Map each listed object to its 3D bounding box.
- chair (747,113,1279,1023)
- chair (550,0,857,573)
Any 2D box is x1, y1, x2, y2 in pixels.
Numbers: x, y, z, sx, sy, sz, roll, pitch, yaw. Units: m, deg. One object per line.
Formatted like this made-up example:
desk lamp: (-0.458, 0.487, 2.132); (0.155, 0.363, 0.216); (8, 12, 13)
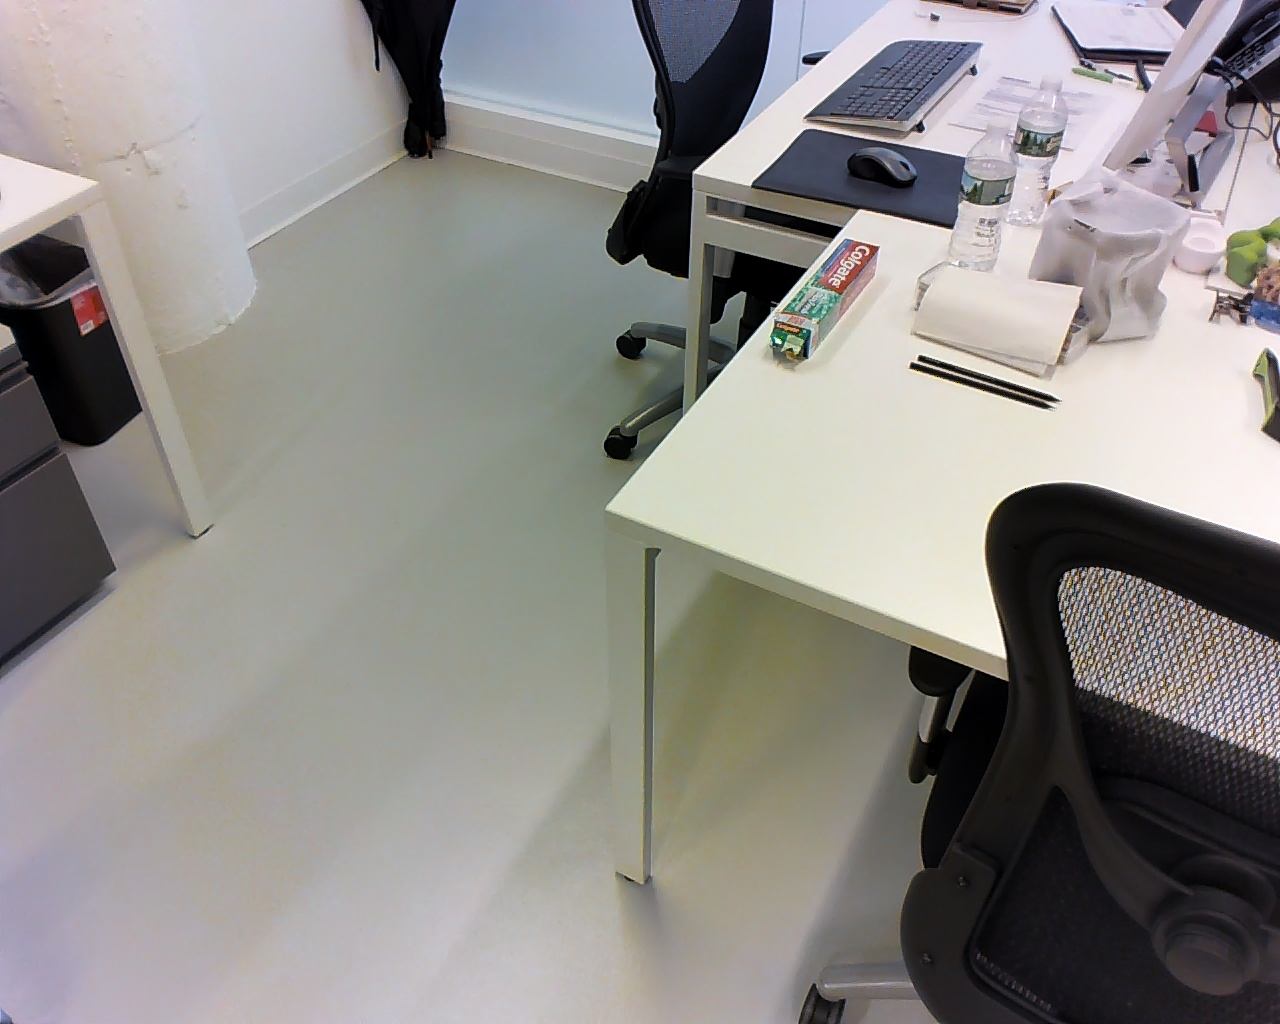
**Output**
chair: (0.620, 0.300, 1.090); (0.770, 1.030, 0.730); (19, 46, 21)
chair: (0.170, -0.610, 2.080); (0.400, 1.040, 0.960); (7, 42, 8)
